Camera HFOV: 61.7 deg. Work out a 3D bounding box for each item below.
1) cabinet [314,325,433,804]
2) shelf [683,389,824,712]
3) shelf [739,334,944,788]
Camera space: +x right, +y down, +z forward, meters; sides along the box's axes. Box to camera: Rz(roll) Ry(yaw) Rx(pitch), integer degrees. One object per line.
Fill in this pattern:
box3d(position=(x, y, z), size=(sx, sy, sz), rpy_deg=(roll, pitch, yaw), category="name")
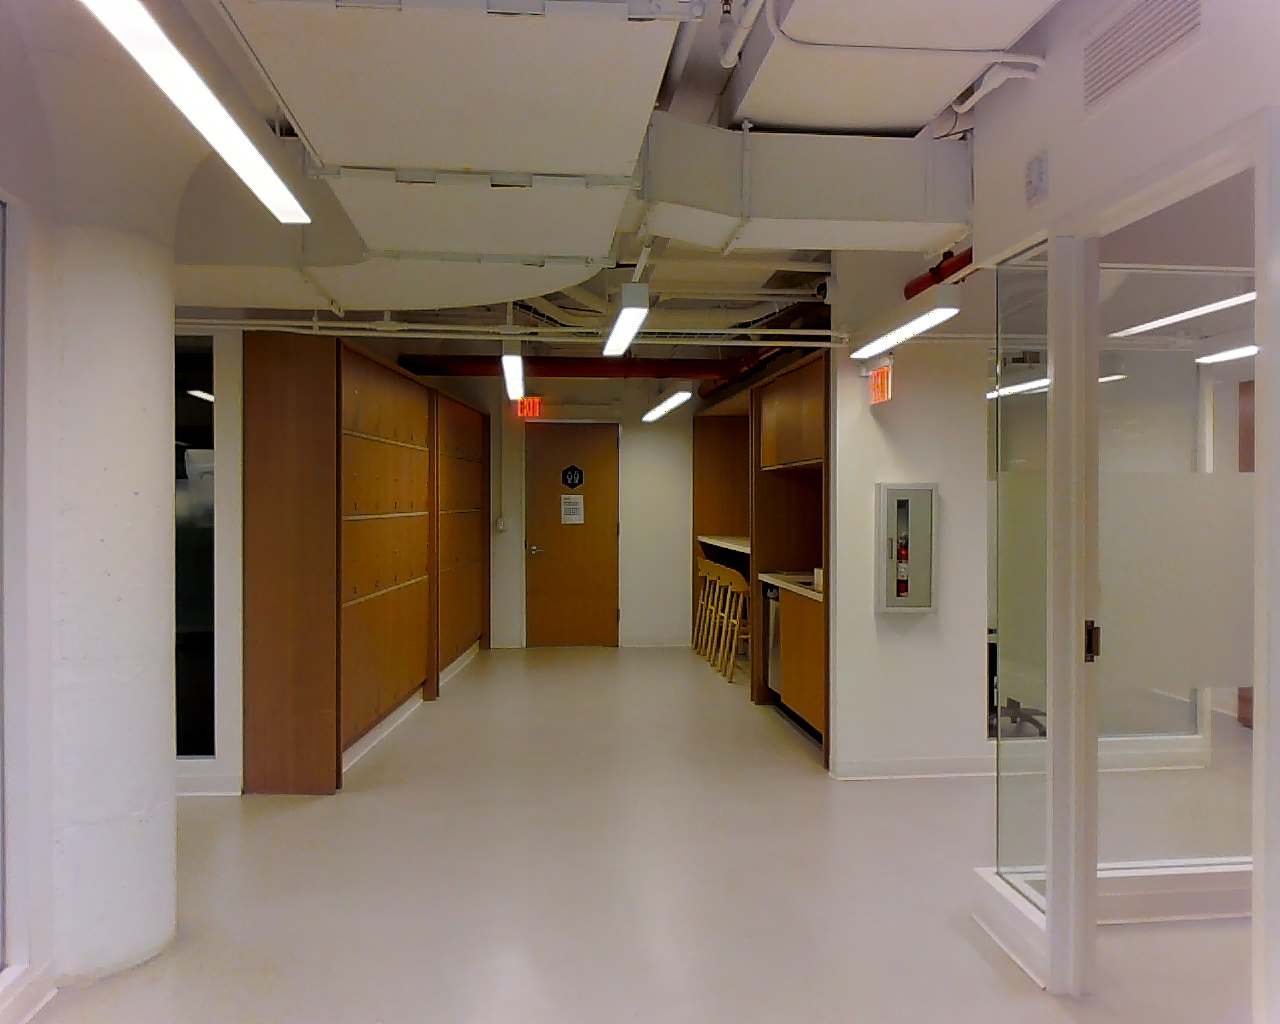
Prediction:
box3d(position=(-1.570, 0.260, 6.600), size=(0.160, 2.371, 2.600), rpy_deg=(0, 0, -2), category="cabinet")
box3d(position=(0.890, 0.280, 9.260), size=(0.580, 2.351, 2.880), rpy_deg=(0, 0, -7), category="shelf")
box3d(position=(1.180, 0.260, 6.760), size=(0.690, 2.421, 2.020), rpy_deg=(0, 0, -7), category="shelf")
